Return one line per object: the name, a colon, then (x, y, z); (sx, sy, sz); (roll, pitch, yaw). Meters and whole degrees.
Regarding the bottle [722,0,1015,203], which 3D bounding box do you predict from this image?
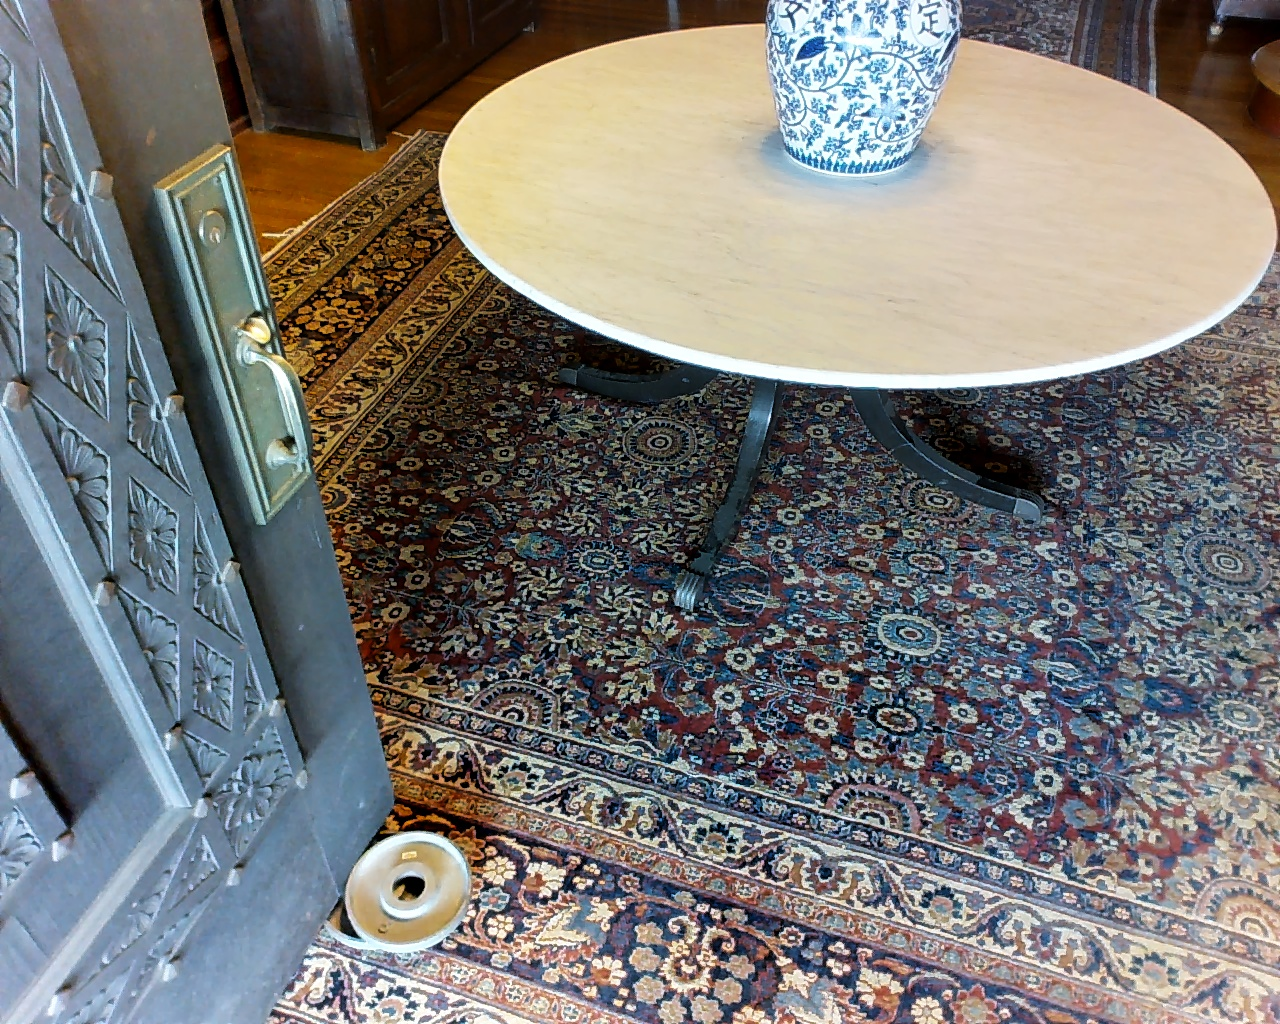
bottle: (0.410, -0.910, 1.920); (0.440, 0.500, 0.470); (8, 42, 8)
